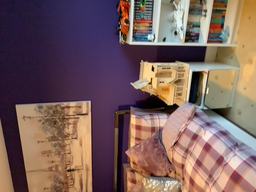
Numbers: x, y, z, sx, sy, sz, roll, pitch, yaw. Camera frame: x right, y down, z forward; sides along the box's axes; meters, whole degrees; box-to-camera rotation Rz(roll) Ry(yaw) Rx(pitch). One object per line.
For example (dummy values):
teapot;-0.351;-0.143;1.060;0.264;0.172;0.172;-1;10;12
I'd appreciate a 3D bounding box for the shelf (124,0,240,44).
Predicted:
shelf;0.500;-0.910;1.940;0.270;1.020;0.810;-133;42;-68

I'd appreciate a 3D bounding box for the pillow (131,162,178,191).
pillow;0.280;0.920;2.040;0.420;0.350;0.170;68;172;-20

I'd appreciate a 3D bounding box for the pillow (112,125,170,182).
pillow;0.130;0.580;2.120;0.430;0.350;0.180;44;180;-26

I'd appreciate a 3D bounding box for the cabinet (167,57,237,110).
cabinet;0.740;-0.150;2.210;0.380;0.510;0.430;-125;35;-64
